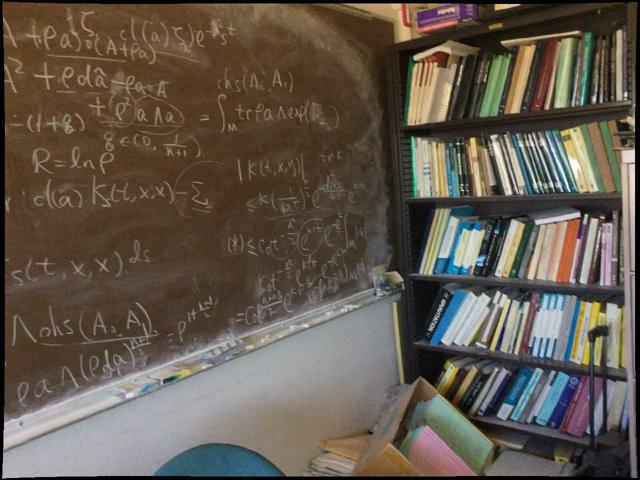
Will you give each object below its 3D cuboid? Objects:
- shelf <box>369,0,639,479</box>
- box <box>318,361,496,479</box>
[{"bbox_3d":[0.718,0.000,2.310,0.938,0.300,1.714,2,100,37],"label":"shelf"},{"bbox_3d":[0.329,0.862,2.170,0.449,0.410,0.591,9,60,32],"label":"box"}]
